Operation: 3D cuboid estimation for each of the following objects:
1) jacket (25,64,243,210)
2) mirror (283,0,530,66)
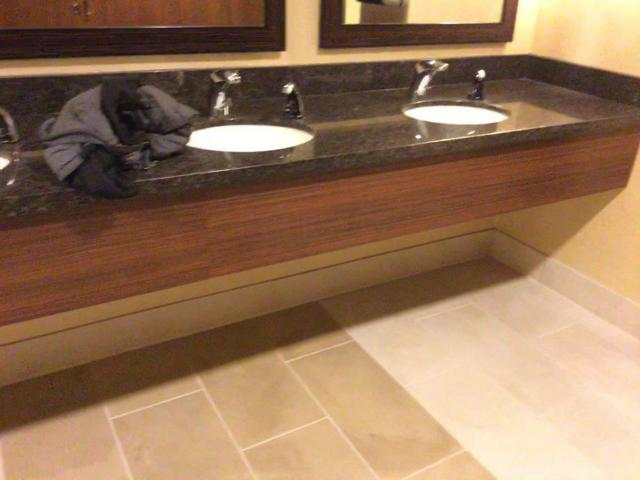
[{"bbox_3d":[-0.420,-0.240,1.280,0.380,0.220,0.340,-6,25,-29],"label":"jacket"},{"bbox_3d":[0.380,-1.080,1.990,0.980,0.860,0.130,-6,25,-29],"label":"mirror"}]
